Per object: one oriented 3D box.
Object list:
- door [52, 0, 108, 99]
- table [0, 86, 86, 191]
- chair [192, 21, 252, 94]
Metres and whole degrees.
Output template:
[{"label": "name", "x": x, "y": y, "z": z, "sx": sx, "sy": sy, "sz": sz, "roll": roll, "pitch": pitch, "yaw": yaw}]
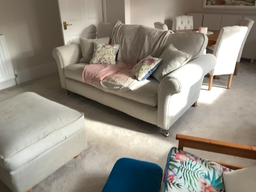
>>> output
[{"label": "door", "x": -0.710, "y": -1.100, "z": 3.320, "sx": 0.170, "sy": 2.190, "sz": 0.820, "roll": 21, "pitch": 33, "yaw": 36}, {"label": "table", "x": -0.960, "y": 0.330, "z": 1.900, "sx": 0.940, "sy": 0.460, "sz": 0.630, "roll": 18, "pitch": 32, "yaw": 32}, {"label": "chair", "x": 1.370, "y": -0.600, "z": 3.220, "sx": 0.410, "sy": 0.930, "sz": 0.590, "roll": -6, "pitch": 27, "yaw": -12}]
